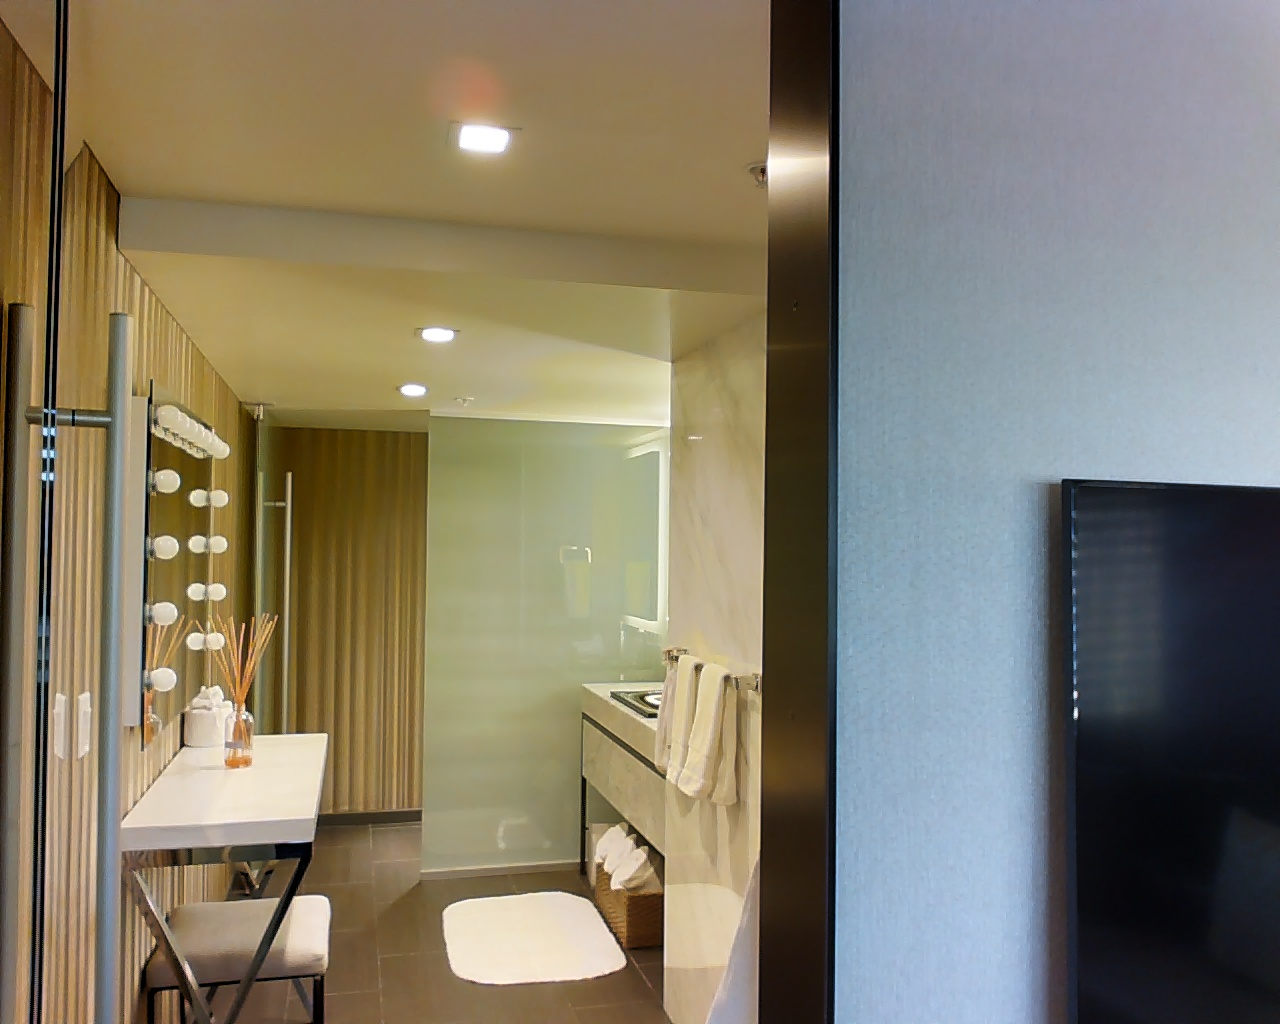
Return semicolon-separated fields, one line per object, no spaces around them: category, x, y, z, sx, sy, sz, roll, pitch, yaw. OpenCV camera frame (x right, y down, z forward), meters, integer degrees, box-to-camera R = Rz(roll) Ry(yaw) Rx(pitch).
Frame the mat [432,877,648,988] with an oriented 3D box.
mat;-0.420;1.590;4.140;0.680;0.030;0.940;1;-1;-15

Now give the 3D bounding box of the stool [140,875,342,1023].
stool;-1.040;1.280;2.870;0.460;0.440;0.470;1;-1;-15

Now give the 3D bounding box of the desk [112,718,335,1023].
desk;-1.050;1.100;2.860;0.430;0.900;1.100;1;-1;-15
